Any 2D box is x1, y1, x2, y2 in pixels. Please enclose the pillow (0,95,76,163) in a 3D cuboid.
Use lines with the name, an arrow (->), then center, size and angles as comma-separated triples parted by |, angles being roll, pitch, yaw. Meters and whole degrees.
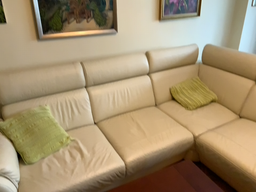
pillow -> -0.700, 0.260, 1.630 | 0.490, 0.510, 0.200 | -11, 60, -29

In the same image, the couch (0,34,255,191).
couch -> 0.090, 0.070, 2.060 | 2.600, 0.940, 1.050 | -14, 29, -25
